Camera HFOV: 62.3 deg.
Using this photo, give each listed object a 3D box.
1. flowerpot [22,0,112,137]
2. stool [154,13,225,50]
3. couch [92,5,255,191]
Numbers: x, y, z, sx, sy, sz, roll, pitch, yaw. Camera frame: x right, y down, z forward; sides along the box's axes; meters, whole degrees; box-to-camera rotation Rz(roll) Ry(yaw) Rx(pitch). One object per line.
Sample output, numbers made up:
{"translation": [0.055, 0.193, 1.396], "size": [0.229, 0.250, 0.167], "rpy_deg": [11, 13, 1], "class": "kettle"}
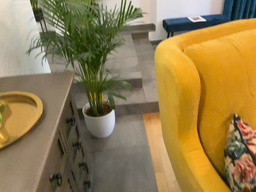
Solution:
{"translation": [-0.430, -0.250, 1.820], "size": [0.460, 1.080, 0.500], "rpy_deg": [-7, 33, -5], "class": "flowerpot"}
{"translation": [0.980, -1.080, 3.540], "size": [1.030, 0.450, 0.380], "rpy_deg": [-4, 33, -1], "class": "stool"}
{"translation": [0.460, 0.290, 0.930], "size": [0.850, 1.050, 0.990], "rpy_deg": [-16, 35, -18], "class": "couch"}
